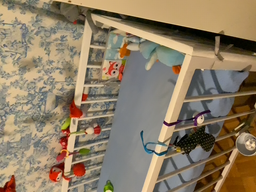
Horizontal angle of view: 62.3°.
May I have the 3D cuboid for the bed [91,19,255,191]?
[{"bbox_3d":[0.260,0.260,1.240,0.600,0.530,1.170,39,122,44],"label":"bed"}]
